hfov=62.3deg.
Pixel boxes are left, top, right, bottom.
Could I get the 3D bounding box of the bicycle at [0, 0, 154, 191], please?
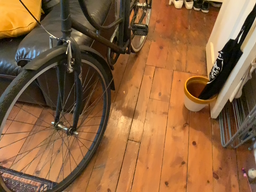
[{"bbox_3d":[-0.150,-0.590,1.300,0.380,1.060,2.240,13,52,7],"label":"bicycle"}]
